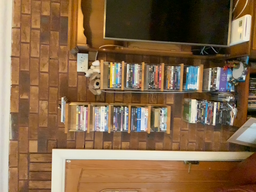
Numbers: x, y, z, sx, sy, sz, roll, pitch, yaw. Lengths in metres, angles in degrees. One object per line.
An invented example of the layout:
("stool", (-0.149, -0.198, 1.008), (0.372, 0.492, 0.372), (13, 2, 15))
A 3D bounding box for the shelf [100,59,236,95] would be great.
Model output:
("shelf", (0.330, -0.150, 1.760), (0.170, 1.100, 0.230), (-158, 70, -82))

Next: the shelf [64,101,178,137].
("shelf", (-0.050, 0.190, 1.740), (0.150, 0.890, 0.250), (-158, 70, -82))
